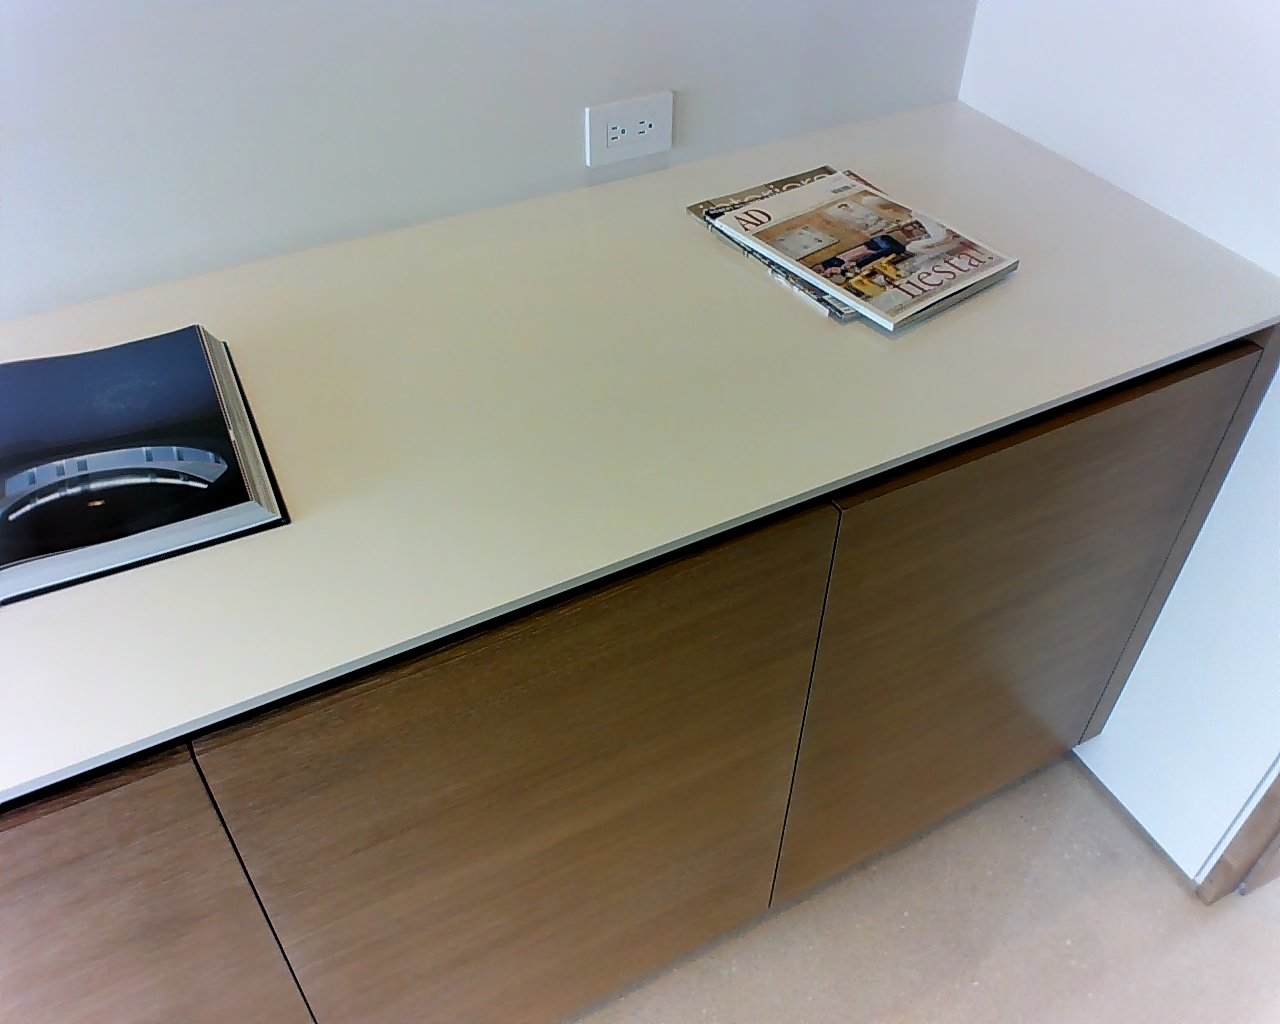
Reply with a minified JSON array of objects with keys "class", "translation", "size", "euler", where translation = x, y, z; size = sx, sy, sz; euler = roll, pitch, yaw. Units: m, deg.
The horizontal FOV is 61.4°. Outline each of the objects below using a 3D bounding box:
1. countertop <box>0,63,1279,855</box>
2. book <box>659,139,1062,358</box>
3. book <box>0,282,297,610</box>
[{"class":"countertop","translation":[-0.520,-0.050,0.990],"size":[2.580,0.040,0.770],"euler":[-20,47,-22]},{"class":"book","translation":[0.250,-0.330,1.280],"size":[0.300,0.030,0.370],"euler":[-23,48,-24]},{"class":"book","translation":[-0.600,-0.040,0.930],"size":[0.510,0.040,0.360],"euler":[-19,46,-20]}]
